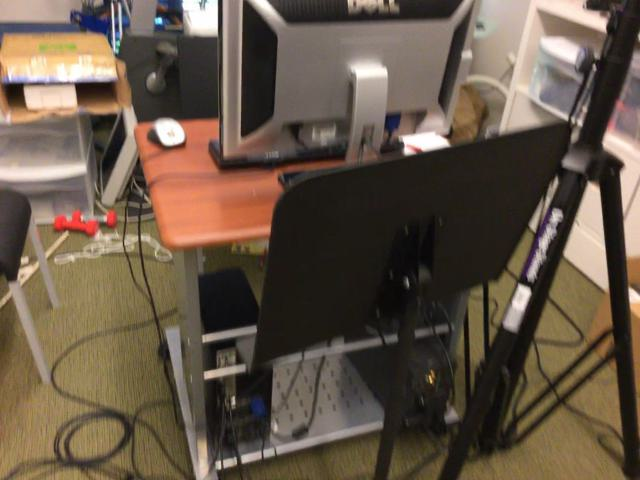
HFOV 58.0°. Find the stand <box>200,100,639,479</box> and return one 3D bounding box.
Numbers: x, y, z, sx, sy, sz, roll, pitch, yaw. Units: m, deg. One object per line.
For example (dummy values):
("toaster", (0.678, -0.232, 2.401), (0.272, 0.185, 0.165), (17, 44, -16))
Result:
("stand", (0.120, 0.320, 0.970), (0.540, 1.010, 0.330), (-6, 31, -17))

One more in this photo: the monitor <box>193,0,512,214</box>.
("monitor", (0.060, -0.300, 1.070), (0.540, 0.400, 0.160), (-10, 32, -22))
